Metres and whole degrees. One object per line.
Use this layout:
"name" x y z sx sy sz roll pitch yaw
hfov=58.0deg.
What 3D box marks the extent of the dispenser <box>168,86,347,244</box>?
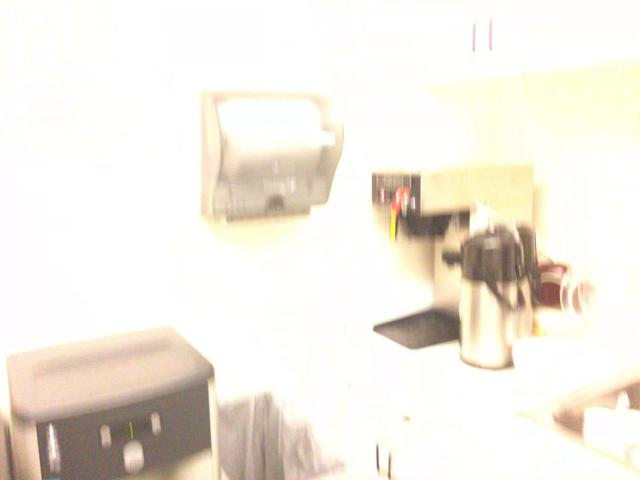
"dispenser" -0.150 -0.180 1.380 0.320 0.320 0.270 -7 9 -33
